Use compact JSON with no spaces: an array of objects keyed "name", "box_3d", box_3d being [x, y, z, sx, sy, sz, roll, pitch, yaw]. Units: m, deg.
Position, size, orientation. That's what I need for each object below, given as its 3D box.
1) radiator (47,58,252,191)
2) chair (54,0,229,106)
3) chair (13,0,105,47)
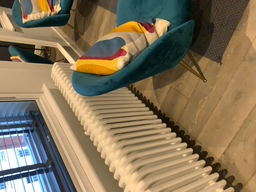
[{"name":"radiator","box_3d":[-0.030,0.150,1.410,1.500,0.550,0.160,44,124,41]},{"name":"chair","box_3d":[0.060,-0.370,1.250,0.670,0.740,0.720,12,100,50]},{"name":"chair","box_3d":[-0.780,-1.070,2.320,0.710,0.680,0.640,-48,56,40]}]
